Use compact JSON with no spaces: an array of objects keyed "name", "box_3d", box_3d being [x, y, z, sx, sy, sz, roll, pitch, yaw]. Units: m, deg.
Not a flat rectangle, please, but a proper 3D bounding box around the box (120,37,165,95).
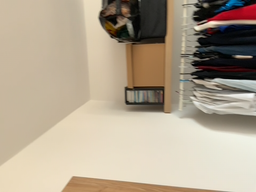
[{"name":"box","box_3d":[0.130,-0.260,1.770,0.310,0.330,0.430,-50,-39,-73]}]
